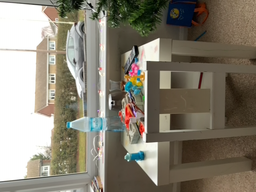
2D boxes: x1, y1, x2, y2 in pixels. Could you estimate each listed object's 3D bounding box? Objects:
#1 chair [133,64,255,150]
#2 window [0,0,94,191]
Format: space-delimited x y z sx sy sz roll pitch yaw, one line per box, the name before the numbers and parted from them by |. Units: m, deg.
chair | 0.290 0.020 0.900 0.310 0.460 0.280 -163 73 -72
window | -0.970 0.160 1.220 0.120 1.520 2.100 -159 69 -72
